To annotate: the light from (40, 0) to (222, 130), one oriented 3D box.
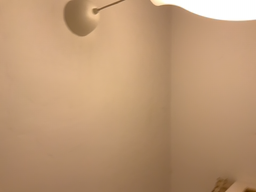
[{"bbox_3d":[0.030,-0.300,0.590,0.390,0.310,0.650,36,133,13],"label":"light"}]
